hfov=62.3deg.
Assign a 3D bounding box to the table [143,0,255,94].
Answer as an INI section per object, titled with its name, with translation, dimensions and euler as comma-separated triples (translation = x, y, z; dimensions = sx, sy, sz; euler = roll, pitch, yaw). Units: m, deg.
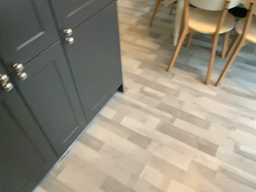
[table]
translation = 1.150, -0.840, 2.140
dimensions = 1.560, 0.780, 1.230
euler = 27, 54, 24
